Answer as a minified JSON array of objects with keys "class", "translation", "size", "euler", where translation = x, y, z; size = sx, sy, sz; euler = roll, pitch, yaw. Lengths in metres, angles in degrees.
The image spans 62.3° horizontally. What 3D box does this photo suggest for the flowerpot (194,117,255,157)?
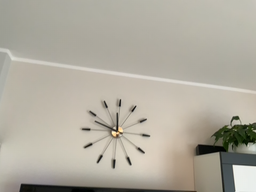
[{"class":"flowerpot","translation":[0.930,0.370,1.830],"size":[0.590,0.250,0.340],"euler":[7,-20,-11]}]
